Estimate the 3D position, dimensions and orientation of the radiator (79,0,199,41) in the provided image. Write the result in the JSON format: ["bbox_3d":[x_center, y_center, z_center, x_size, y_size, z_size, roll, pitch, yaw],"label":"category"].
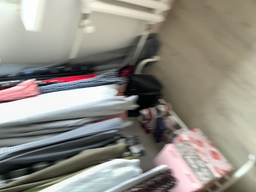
[{"bbox_3d":[0.130,-0.660,1.270,0.240,0.690,0.540,47,128,36],"label":"radiator"}]
